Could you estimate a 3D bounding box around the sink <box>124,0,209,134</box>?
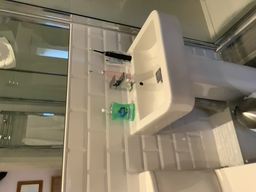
[{"bbox_3d":[0.150,-0.130,1.110,0.420,0.170,0.560,131,139,-58],"label":"sink"}]
